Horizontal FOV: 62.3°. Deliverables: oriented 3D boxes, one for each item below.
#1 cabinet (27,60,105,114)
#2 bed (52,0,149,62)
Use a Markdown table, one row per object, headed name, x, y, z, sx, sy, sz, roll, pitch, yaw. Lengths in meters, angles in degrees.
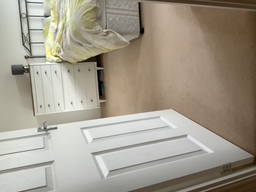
| name | x | y | z | sx | sy | sz | roll | pitch | yaw |
| --- | --- | --- | --- | --- | --- | --- | --- | --- | --- |
| cabinet | -1.010 | -0.180 | 3.530 | 0.450 | 1.120 | 0.760 | -170 | 75 | -67 |
| bed | -0.550 | -1.340 | 2.750 | 2.050 | 0.680 | 1.640 | -167 | 73 | -67 |
